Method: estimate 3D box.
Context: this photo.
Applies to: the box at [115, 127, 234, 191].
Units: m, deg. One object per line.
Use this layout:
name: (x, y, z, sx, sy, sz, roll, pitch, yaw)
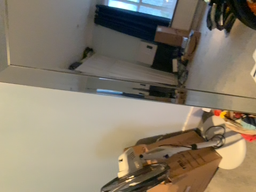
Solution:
box: (0.330, 0.710, 1.770, 0.410, 0.680, 0.730, -125, 41, -49)
